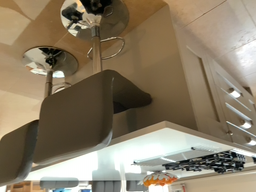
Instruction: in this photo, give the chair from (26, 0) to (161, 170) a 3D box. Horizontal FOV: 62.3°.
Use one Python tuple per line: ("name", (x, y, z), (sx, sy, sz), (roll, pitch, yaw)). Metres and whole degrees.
("chair", (-0.180, -0.110, 1.220), (0.430, 0.940, 0.470), (-21, 150, 28))
